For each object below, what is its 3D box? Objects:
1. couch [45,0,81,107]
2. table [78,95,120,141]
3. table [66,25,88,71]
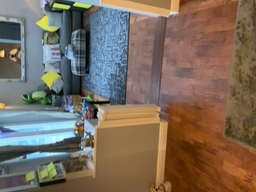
[{"bbox_3d":[-1.730,-1.220,5.520,1.200,0.630,2.780,21,110,60],"label":"couch"},{"bbox_3d":[-0.510,0.330,3.550,0.670,0.470,0.580,22,111,59],"label":"table"},{"bbox_3d":[-1.170,-1.070,4.810,0.660,0.330,0.950,21,110,60],"label":"table"}]
